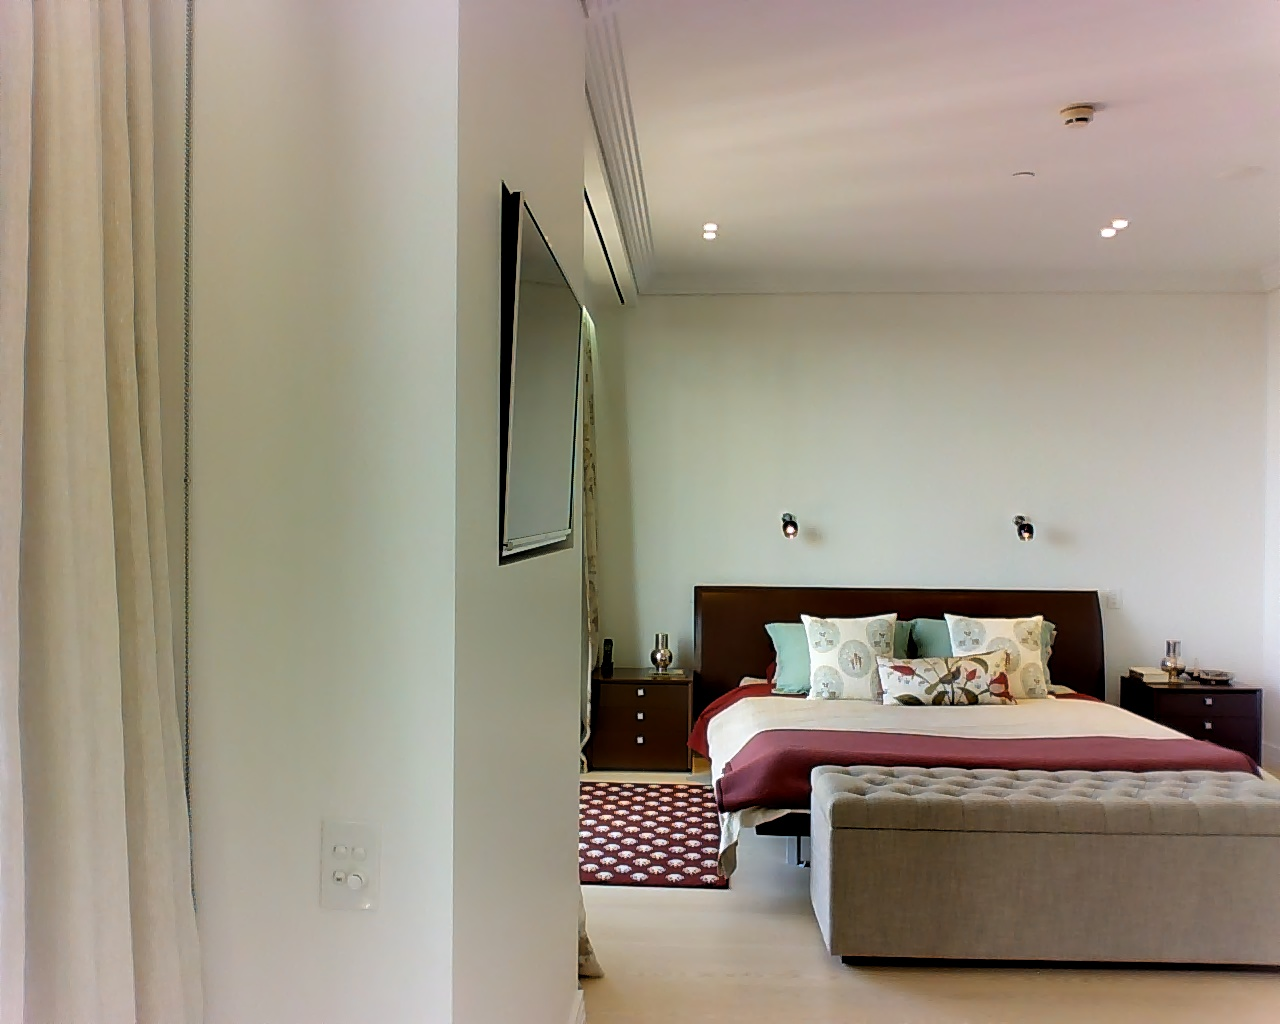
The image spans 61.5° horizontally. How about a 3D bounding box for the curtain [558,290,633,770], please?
[{"bbox_3d":[-0.230,0.100,5.980,0.300,2.491,0.790,1,-4,2],"label":"curtain"}]
